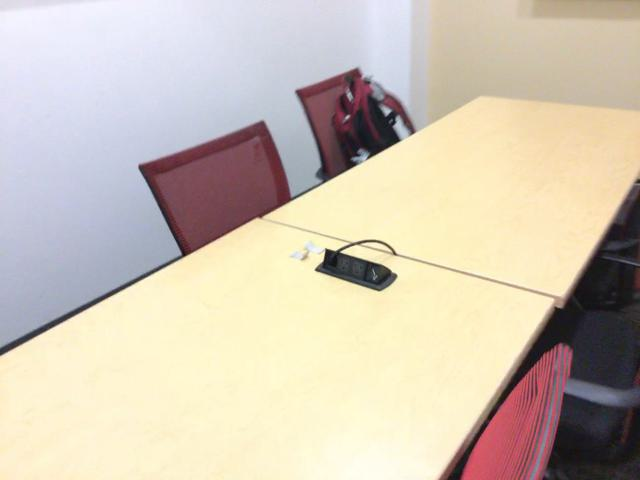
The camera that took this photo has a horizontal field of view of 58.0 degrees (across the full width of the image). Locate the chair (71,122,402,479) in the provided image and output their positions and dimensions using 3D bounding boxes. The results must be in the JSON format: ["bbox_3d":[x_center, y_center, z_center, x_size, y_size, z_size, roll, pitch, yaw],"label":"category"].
[{"bbox_3d":[-0.150,0.200,1.520,0.480,0.840,0.600,16,32,35],"label":"chair"}]

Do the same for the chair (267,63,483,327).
[{"bbox_3d":[0.230,-0.220,2.270,0.550,0.800,0.590,16,32,35],"label":"chair"}]
